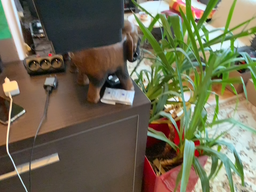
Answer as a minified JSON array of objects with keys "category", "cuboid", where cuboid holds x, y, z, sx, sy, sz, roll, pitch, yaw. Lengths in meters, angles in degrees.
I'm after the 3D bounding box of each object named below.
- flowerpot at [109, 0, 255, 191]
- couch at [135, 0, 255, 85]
[{"category":"flowerpot","cuboid":[0.390,0.040,1.210,0.790,1.220,0.690,-14,42,-19]},{"category":"couch","cuboid":[0.860,-1.020,2.800,0.770,0.740,1.790,-16,42,-21]}]
